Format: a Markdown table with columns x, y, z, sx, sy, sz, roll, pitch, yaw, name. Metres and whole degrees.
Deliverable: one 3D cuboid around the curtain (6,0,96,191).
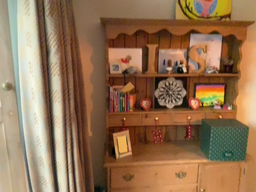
| x | y | z | sx | sy | sz | roll | pitch | yaw | name |
| --- | --- | --- | --- | --- | --- | --- | --- | --- | --- |
| -0.360 | 0.270 | 1.280 | 0.250 | 2.310 | 0.680 | 0 | 11 | -3 | curtain |
